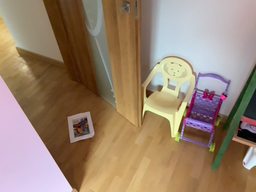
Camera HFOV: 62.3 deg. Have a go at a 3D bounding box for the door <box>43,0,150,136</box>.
[{"bbox_3d":[-0.280,-0.650,1.400,0.970,2.140,0.140,33,56,29],"label":"door"}]
